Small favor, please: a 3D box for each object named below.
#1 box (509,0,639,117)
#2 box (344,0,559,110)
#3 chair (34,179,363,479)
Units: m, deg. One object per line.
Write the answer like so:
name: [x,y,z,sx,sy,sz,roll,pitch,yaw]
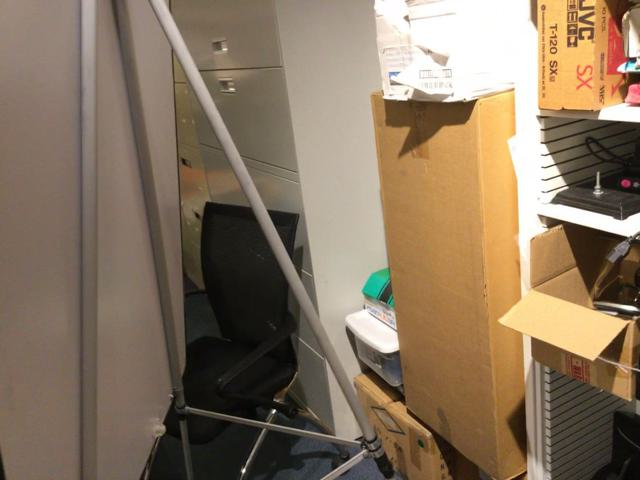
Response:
box: [0.550,-0.370,1.080,0.380,0.220,0.150,-14,19,-25]
box: [0.270,-0.400,1.240,0.290,0.190,0.340,-14,19,-25]
chair: [-0.340,0.360,1.830,0.580,0.940,0.670,11,24,44]
